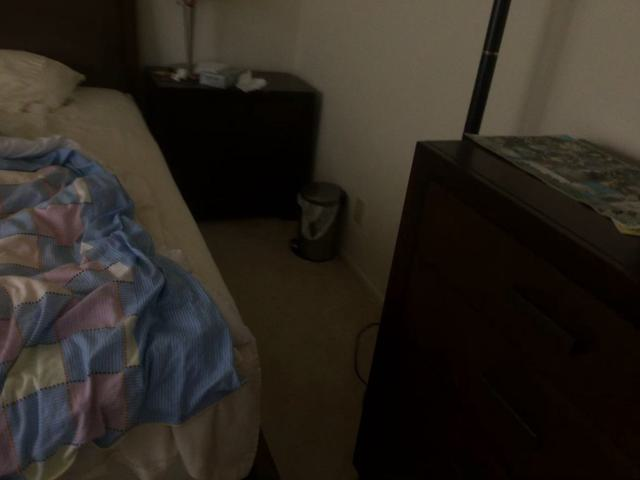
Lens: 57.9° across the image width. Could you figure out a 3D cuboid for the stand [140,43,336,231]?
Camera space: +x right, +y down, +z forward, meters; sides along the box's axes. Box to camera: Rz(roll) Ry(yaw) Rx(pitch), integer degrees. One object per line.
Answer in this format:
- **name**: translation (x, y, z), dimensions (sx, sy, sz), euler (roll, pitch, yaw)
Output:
- **stand**: translation (-0.410, -0.470, 2.700), dimensions (0.770, 0.730, 0.390), euler (-3, 28, -24)
